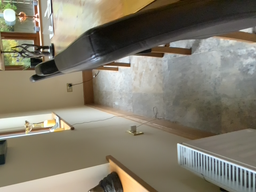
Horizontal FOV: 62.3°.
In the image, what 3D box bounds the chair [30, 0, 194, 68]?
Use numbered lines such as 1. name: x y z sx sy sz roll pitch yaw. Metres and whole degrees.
1. chair: -0.090 -0.510 1.480 0.440 1.040 0.600 15 108 61
